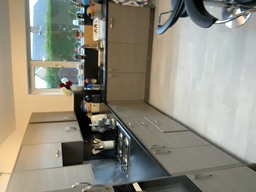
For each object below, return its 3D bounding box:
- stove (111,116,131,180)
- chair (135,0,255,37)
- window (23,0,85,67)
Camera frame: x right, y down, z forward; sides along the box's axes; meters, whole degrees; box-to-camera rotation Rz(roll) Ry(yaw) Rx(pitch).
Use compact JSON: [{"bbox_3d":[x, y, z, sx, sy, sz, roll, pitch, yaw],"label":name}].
[{"bbox_3d":[-0.110,0.640,2.760,0.710,0.020,0.560,-146,58,-67],"label":"stove"},{"bbox_3d":[0.600,-0.830,1.860,0.420,0.970,0.370,143,124,-66],"label":"chair"},{"bbox_3d":[-1.350,-1.180,3.960,0.160,1.040,1.240,-151,62,-68],"label":"window"}]
